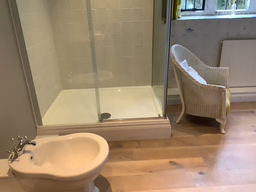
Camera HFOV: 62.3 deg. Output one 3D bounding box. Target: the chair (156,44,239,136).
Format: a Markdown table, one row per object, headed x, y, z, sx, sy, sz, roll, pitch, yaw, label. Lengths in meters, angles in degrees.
| x | y | z | sx | sy | sz | roll | pitch | yaw | label |
| --- | --- | --- | --- | --- | --- | --- | --- | --- | --- |
| 0.730 | -0.120 | 2.250 | 0.660 | 0.700 | 0.640 | 11 | 27 | 25 | chair |

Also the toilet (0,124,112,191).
| x | y | z | sx | sy | sz | roll | pitch | yaw | label |
| --- | --- | --- | --- | --- | --- | --- | --- | --- | --- |
| -0.460 | 0.500 | 1.330 | 0.690 | 0.450 | 0.440 | -2 | 24 | -3 | toilet |
